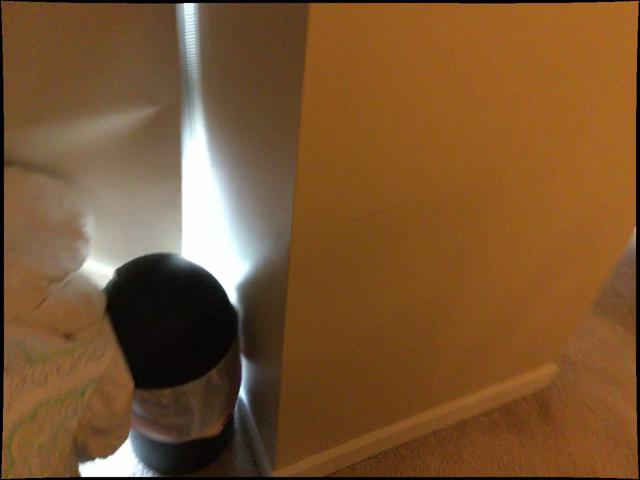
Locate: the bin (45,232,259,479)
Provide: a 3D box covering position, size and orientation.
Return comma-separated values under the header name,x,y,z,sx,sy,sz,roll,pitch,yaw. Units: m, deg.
name,x,y,z,sx,sy,sz,roll,pitch,yaw
bin,-0.309,0.251,1.200,0.289,0.400,0.280,13,47,5
